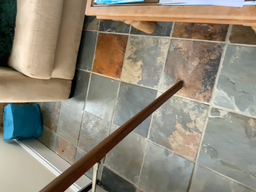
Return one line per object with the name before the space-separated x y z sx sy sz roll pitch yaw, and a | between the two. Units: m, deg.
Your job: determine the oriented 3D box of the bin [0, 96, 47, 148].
bin | -1.040 0.230 2.030 0.340 0.300 0.380 19 100 37
